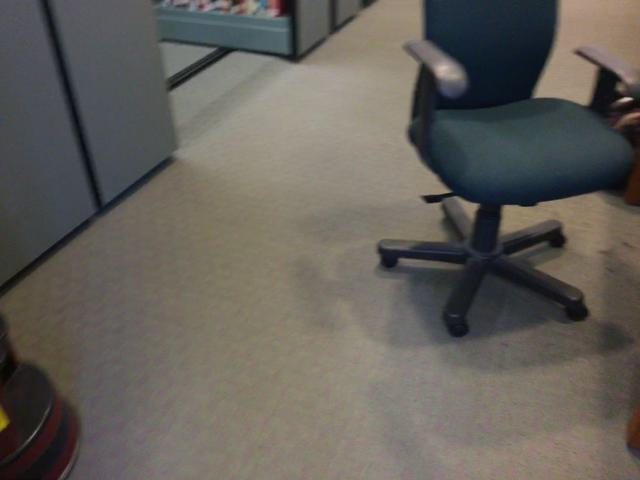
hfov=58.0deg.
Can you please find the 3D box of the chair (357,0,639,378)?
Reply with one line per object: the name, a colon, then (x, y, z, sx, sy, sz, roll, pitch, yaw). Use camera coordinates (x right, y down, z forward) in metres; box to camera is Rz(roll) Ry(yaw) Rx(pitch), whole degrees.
chair: (0.510, -0.240, 1.640, 0.590, 0.980, 0.590, -11, 33, -17)
